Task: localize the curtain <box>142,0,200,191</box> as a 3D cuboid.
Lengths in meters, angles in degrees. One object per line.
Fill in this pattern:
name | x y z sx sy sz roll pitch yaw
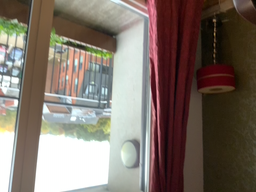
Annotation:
curtain | 0.420 0.010 1.890 0.630 2.190 0.140 11 169 -43
